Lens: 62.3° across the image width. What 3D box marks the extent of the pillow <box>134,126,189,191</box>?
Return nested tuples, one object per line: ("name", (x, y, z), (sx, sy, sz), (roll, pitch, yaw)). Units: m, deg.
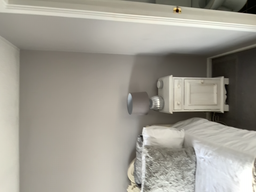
("pillow", (0.310, 0.710, 2.160), (0.540, 0.370, 0.730), (-177, 88, -77))
